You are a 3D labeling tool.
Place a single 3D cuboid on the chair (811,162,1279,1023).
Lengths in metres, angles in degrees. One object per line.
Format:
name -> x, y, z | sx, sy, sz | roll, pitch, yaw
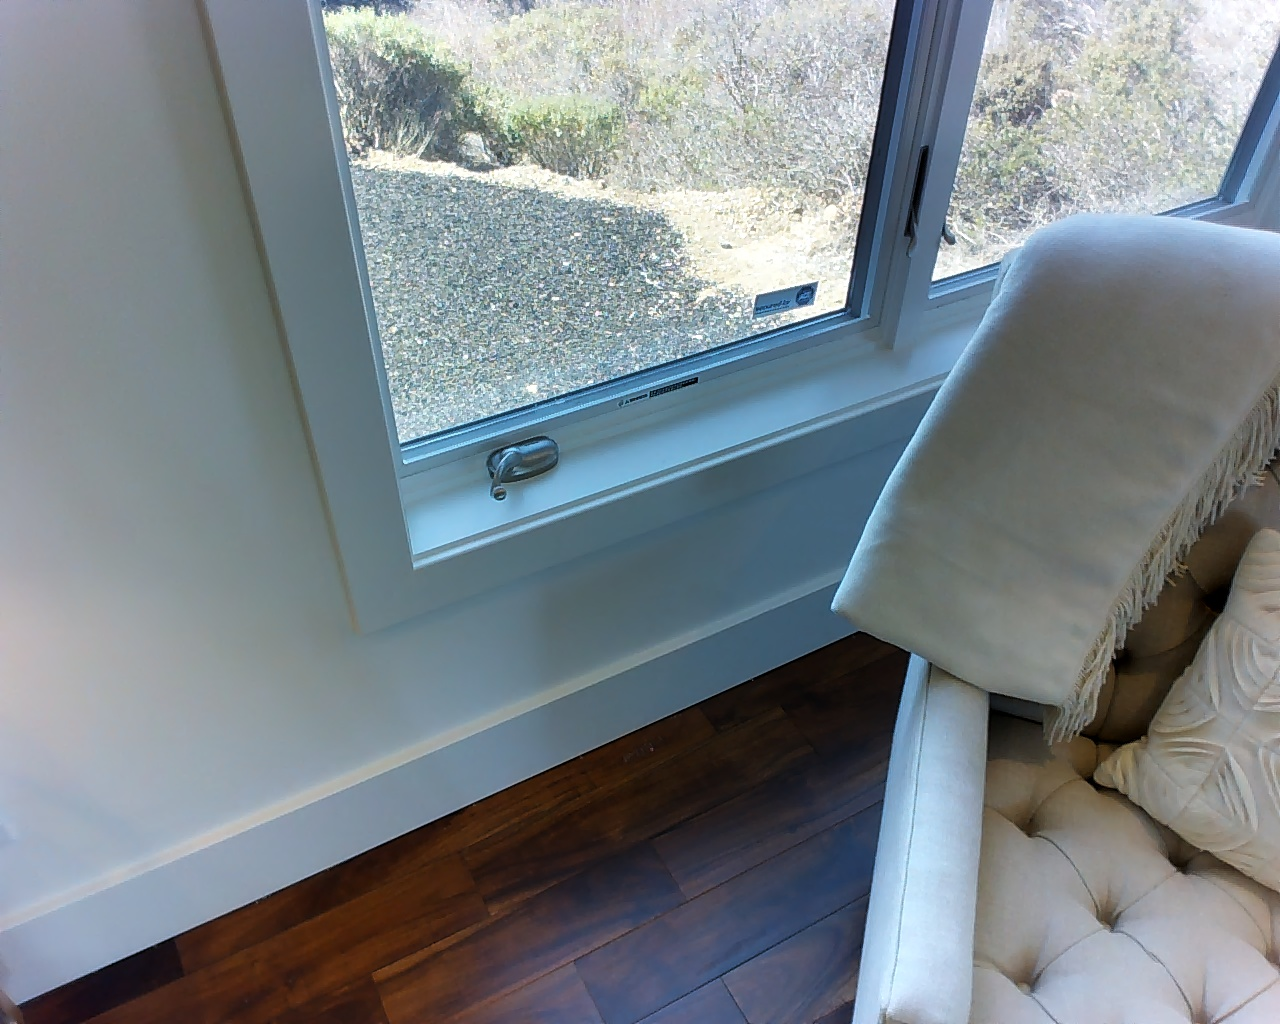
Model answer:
chair -> 0.660, 0.310, 1.270 | 0.760, 1.000, 0.970 | 9, 43, 9
